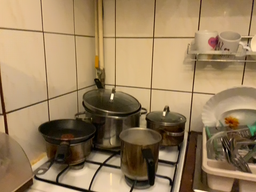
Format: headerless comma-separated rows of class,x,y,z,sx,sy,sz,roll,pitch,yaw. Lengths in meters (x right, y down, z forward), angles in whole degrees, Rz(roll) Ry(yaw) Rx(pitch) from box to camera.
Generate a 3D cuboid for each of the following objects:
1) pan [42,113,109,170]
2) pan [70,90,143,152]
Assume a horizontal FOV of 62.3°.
pan,-0.190,0.160,0.810,0.160,0.120,0.190,7,14,23
pan,-0.090,0.100,1.010,0.270,0.200,0.230,6,14,18
